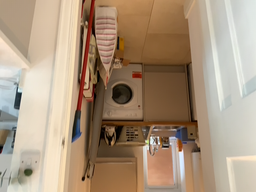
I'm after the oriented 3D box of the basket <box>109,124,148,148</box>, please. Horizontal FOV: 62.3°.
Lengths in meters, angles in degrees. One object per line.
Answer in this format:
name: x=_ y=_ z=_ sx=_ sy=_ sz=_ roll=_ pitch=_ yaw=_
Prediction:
basket: x=0.000 y=0.580 z=3.030 sx=0.510 sy=0.290 sz=0.490 roll=1 pitch=163 yaw=-2
